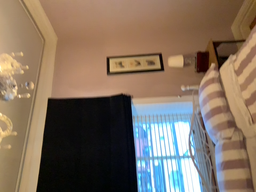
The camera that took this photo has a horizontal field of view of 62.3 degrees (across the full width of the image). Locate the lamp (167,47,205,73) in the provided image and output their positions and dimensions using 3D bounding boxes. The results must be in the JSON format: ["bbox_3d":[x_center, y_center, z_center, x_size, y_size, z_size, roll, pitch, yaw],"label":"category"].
[{"bbox_3d":[0.670,-0.420,2.500,0.200,0.370,0.190,84,-177,-63],"label":"lamp"}]
